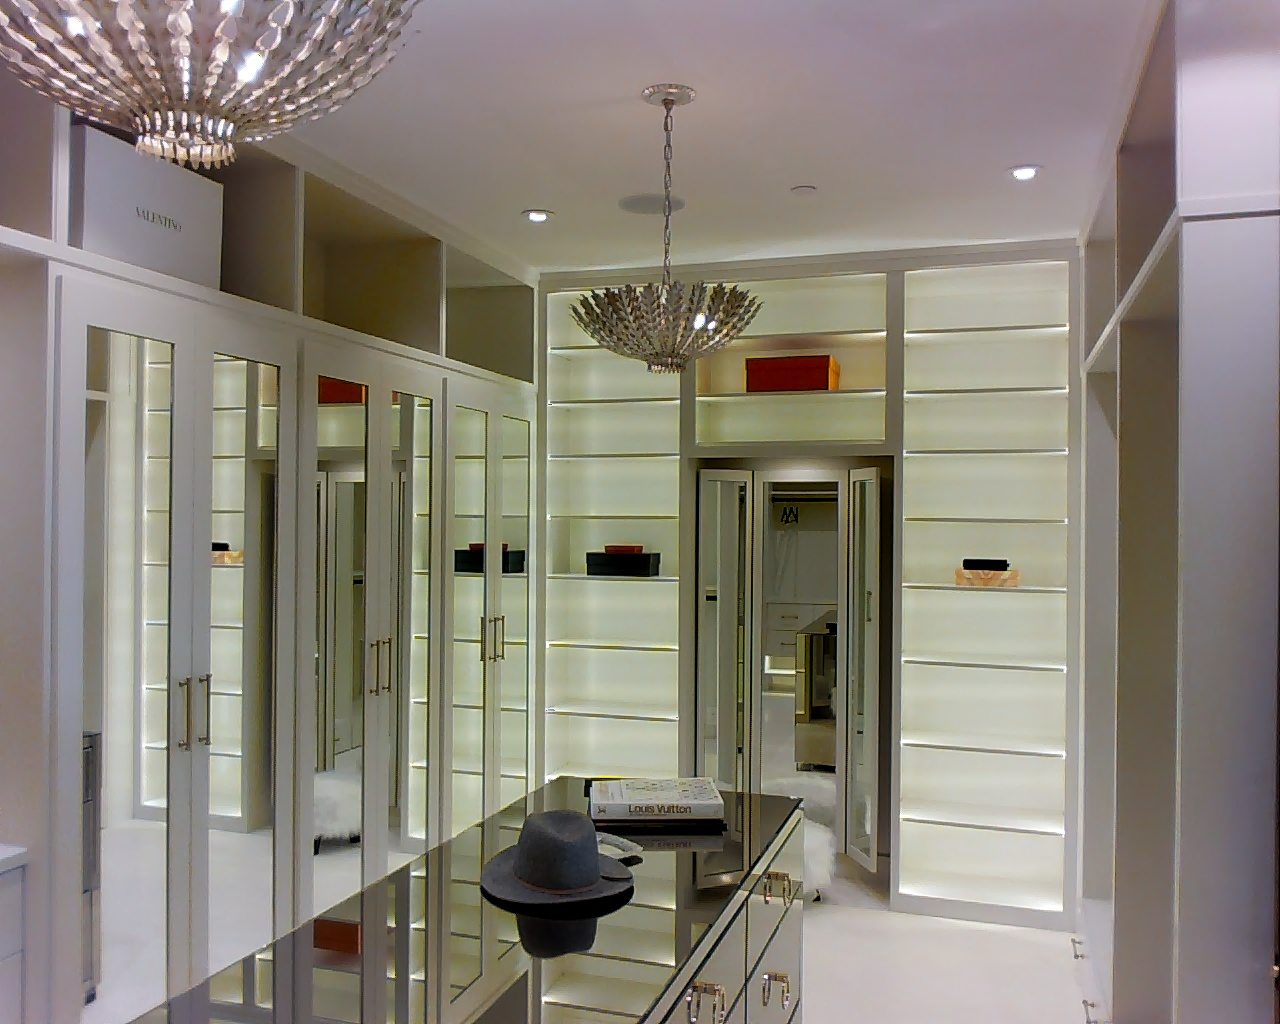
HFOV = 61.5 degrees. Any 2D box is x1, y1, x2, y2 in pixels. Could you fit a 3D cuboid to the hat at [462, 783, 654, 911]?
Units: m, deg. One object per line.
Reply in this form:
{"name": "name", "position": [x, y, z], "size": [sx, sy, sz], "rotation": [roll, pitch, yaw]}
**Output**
{"name": "hat", "position": [-0.160, 0.680, 2.220], "size": [0.300, 0.140, 0.310], "rotation": [1, 0, 18]}
